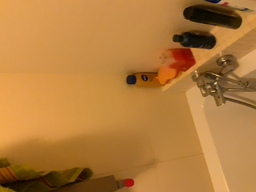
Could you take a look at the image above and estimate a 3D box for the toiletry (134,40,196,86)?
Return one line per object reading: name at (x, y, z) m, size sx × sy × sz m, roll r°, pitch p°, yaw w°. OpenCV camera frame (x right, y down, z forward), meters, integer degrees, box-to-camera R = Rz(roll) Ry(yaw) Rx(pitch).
toiletry at (0.160, -0.140, 0.990) m, size 0.260 × 0.150 × 0.100 m, roll -35°, pitch 60°, yaw 57°
